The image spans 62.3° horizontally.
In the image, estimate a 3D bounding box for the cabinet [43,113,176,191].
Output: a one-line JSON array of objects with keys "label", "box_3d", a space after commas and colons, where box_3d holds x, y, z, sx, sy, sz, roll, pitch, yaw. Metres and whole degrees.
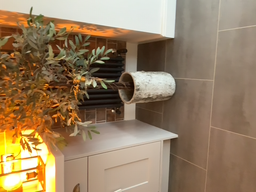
[{"label": "cabinet", "box_3d": [-0.160, 0.690, 1.740, 0.610, 0.870, 0.920, 11, 102, 56]}]
